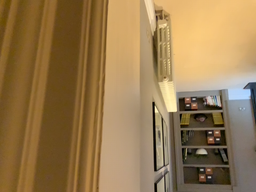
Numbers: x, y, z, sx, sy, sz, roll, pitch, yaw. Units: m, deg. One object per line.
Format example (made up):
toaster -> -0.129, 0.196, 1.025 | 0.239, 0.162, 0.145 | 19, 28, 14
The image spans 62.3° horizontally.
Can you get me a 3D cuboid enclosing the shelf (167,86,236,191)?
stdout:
shelf -> 1.570, 0.910, 4.820 | 1.260, 2.190, 0.430 | -3, 164, 12
